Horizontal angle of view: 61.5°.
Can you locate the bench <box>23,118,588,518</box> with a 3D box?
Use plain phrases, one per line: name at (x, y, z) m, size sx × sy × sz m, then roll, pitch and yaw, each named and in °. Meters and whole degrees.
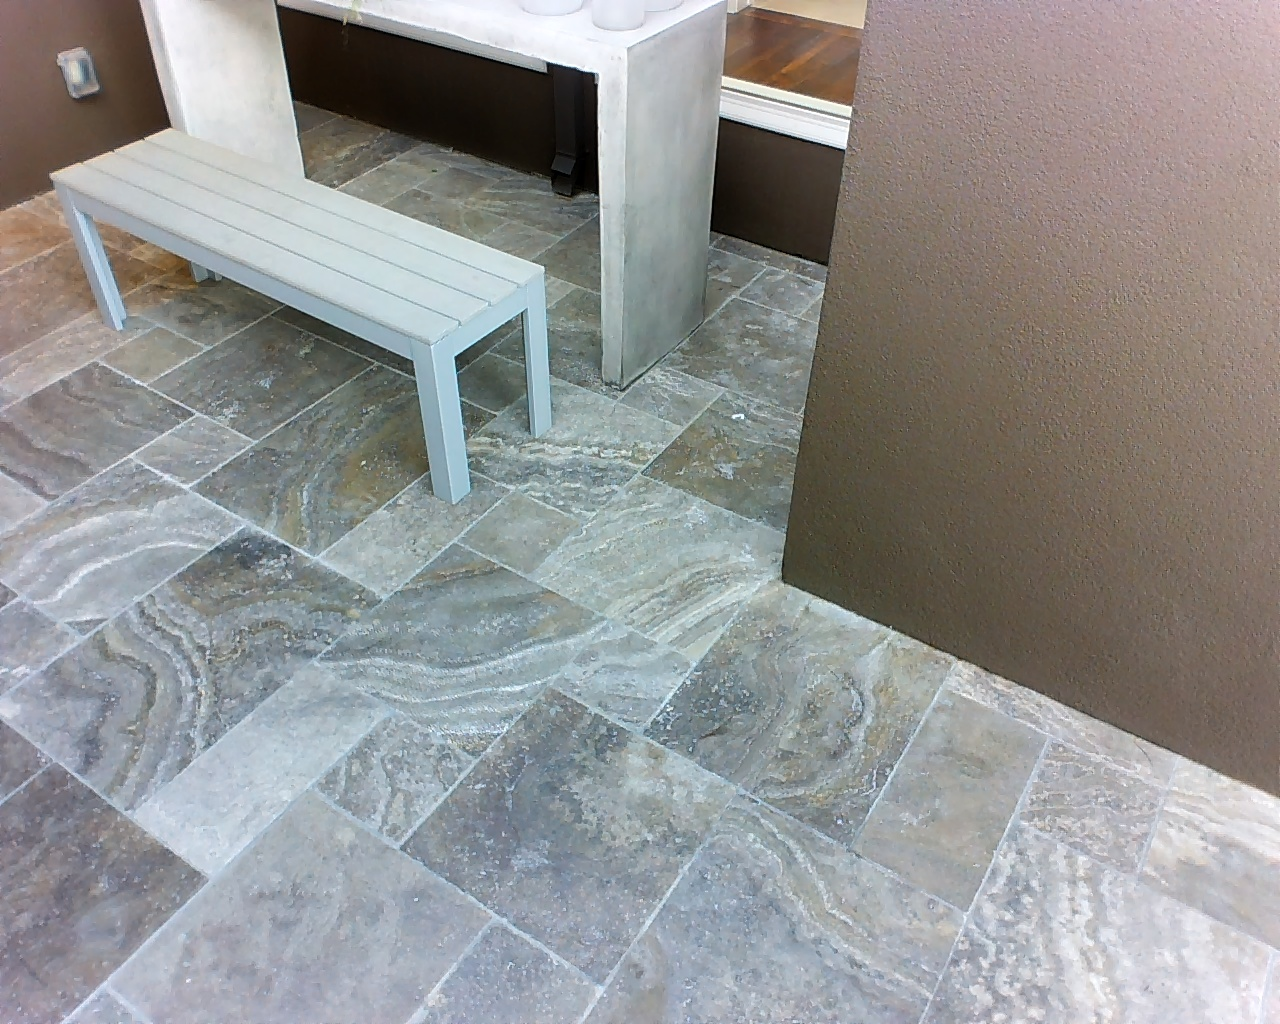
bench at (-0.810, -0.520, 2.610) m, size 1.350 × 0.430 × 0.440 m, roll 24°, pitch 47°, yaw 24°
